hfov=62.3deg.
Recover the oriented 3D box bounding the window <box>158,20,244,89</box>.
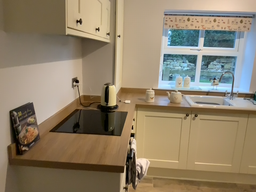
[{"bbox_3d":[1.060,-0.620,3.200,1.140,0.970,0.050,4,13,7],"label":"window"}]

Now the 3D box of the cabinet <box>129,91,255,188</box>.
[{"bbox_3d":[1.180,0.510,2.640,2.260,0.940,0.600,3,13,5],"label":"cabinet"}]
